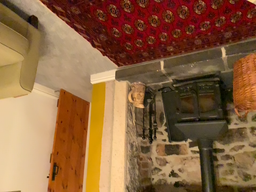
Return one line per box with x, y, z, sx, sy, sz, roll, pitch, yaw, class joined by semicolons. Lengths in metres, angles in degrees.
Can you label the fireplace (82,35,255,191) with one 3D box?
0.630;0.500;2.130;2.020;1.700;0.790;-9;160;26;fireplace
